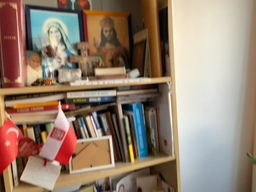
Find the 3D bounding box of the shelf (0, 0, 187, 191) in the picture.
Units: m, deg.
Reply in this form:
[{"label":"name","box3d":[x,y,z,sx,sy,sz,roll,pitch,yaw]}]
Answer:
[{"label":"shelf","box3d":[-0.110,0.450,0.930,0.710,1.930,0.250,-6,6,-22]}]
